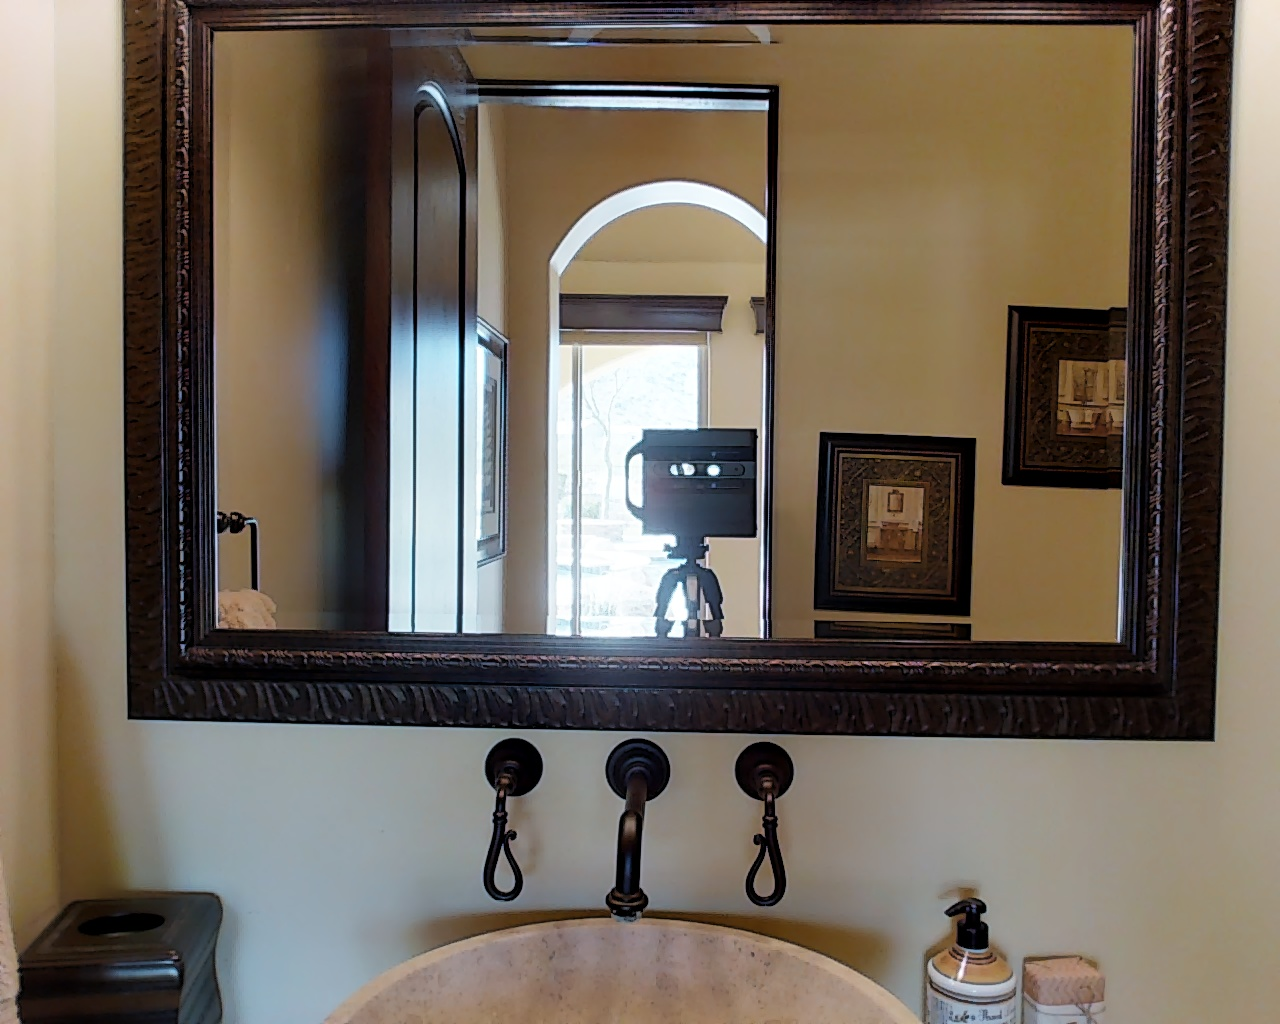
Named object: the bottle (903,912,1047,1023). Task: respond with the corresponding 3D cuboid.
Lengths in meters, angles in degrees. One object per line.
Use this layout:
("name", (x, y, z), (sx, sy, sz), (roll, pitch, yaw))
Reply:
("bottle", (0.320, 0.480, 1.030), (0.110, 0.150, 0.090), (1, 3, 2))

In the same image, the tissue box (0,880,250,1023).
("tissue box", (-0.510, 0.470, 1.020), (0.200, 0.160, 0.190), (1, 3, 2))
